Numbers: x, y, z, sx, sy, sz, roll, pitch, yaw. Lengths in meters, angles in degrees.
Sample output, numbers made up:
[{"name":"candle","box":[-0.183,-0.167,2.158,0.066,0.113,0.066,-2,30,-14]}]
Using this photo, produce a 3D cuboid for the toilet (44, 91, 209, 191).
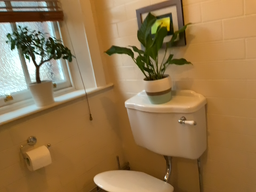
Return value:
[{"name":"toilet","box":[0.080,0.510,1.230,0.500,0.890,0.720,4,20,40]}]

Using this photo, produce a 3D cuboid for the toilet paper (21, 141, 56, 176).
[{"name":"toilet paper","box":[-0.520,0.360,1.240,0.090,0.130,0.140,4,20,40]}]
